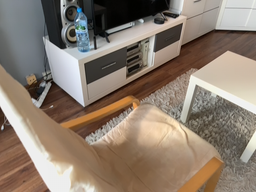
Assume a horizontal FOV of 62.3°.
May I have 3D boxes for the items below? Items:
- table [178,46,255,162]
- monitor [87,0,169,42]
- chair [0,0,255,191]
[{"bbox_3d":[0.840,0.010,1.630,0.610,0.450,0.580,-29,48,-33],"label":"table"},{"bbox_3d":[0.060,-0.900,1.830,0.960,0.620,0.060,-30,48,-34],"label":"monitor"},{"bbox_3d":[0.010,0.210,0.930,0.780,0.970,0.630,-27,47,-32],"label":"chair"}]
